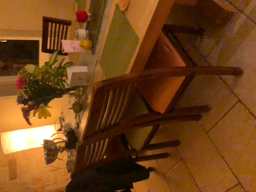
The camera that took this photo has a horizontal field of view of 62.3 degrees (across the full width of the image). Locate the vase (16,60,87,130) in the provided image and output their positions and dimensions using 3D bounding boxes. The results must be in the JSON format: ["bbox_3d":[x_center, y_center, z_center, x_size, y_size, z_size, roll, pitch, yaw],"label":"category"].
[{"bbox_3d":[-0.660,-0.010,1.800,0.320,0.470,0.480,65,146,32],"label":"vase"}]
